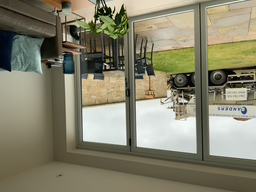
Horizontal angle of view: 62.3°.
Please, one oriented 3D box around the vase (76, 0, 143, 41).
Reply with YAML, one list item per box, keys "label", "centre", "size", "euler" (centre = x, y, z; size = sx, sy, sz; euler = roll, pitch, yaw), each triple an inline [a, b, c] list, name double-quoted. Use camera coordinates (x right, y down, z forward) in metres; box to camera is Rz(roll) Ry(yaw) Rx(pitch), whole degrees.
- label: "vase"
  centre: [-0.120, -0.650, 1.440]
  size: [0.320, 0.440, 0.330]
  euler: [0, -178, 34]
